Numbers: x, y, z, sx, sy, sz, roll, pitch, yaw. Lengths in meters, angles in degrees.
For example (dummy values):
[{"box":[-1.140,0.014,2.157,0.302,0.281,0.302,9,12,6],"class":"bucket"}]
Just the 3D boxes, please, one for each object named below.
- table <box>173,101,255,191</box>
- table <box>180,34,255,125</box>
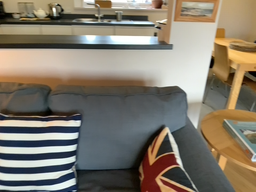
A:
[{"box":[0.690,0.450,1.380,0.560,0.600,0.630,-1,26,-6],"class":"table"},{"box":[1.430,-0.340,2.950,0.860,0.750,1.490,-1,26,-6],"class":"table"}]
